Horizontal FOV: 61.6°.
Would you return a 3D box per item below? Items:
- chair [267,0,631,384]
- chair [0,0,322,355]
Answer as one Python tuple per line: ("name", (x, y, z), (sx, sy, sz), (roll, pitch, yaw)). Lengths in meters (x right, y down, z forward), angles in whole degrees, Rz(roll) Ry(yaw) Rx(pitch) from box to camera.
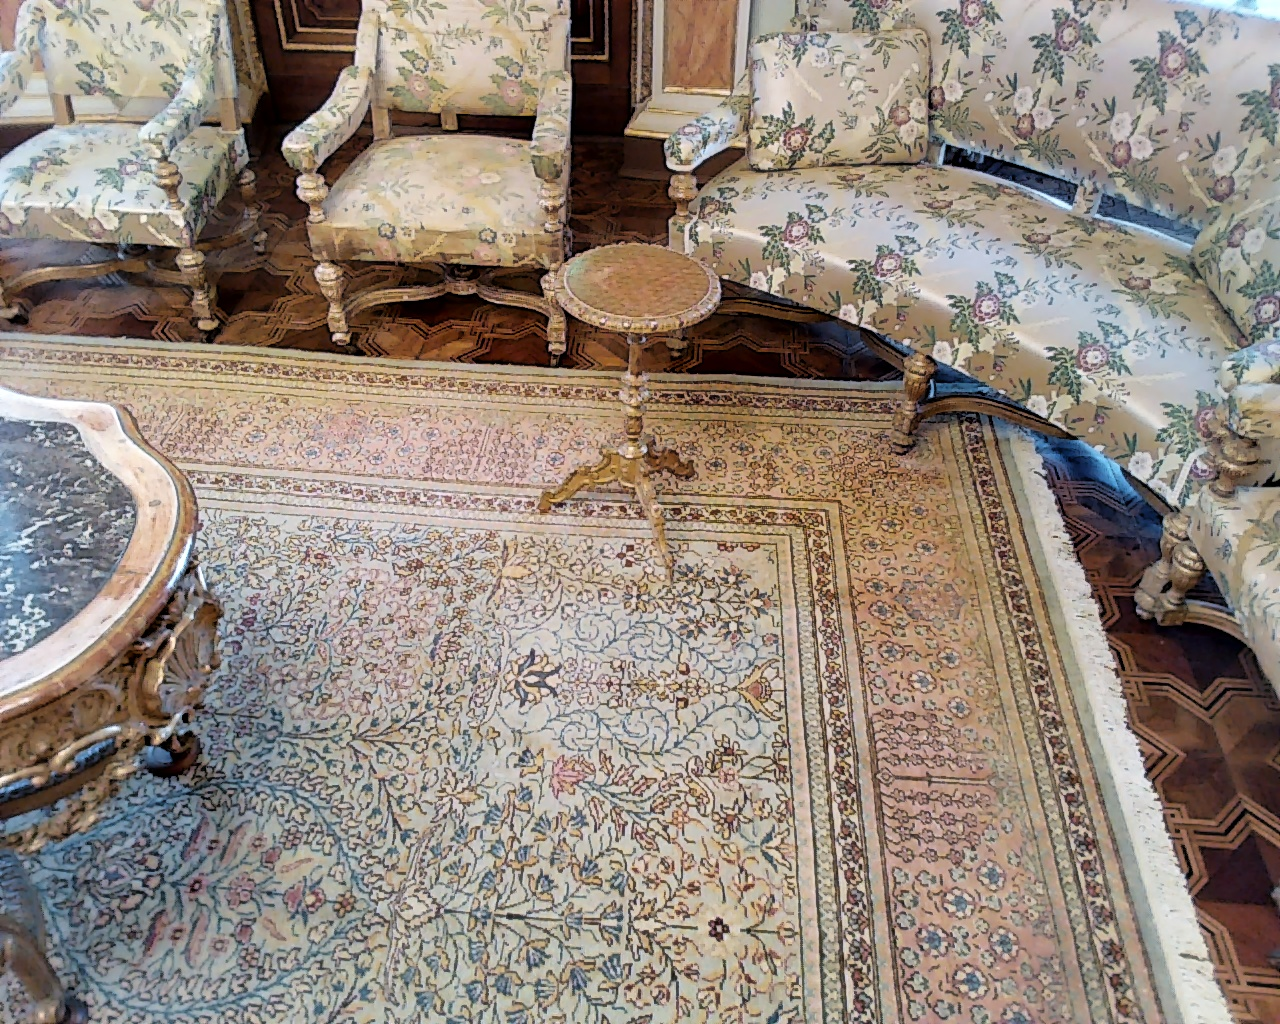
("chair", (-0.440, -1.080, 3.010), (0.750, 1.140, 0.810), (3, 41, 4))
("chair", (-1.500, -1.170, 3.110), (0.720, 1.160, 0.750), (3, 41, 4))
